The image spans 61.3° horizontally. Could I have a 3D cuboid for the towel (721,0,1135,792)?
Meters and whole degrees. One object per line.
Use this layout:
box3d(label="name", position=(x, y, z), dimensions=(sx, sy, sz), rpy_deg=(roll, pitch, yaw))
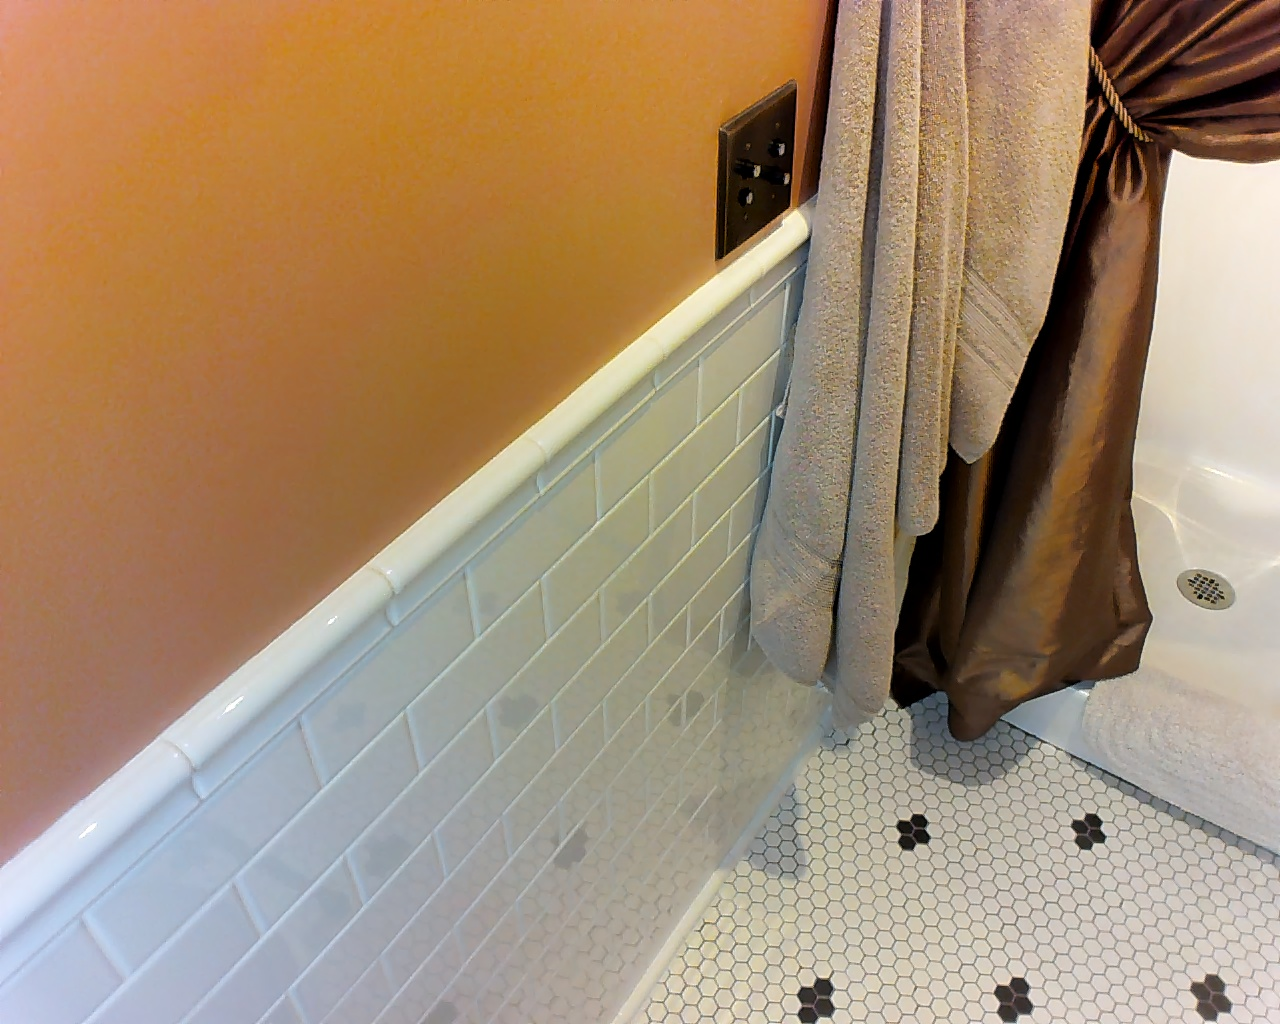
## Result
box3d(label="towel", position=(0.270, -0.150, 1.130), dimensions=(0.190, 1.040, 0.310), rpy_deg=(25, 49, 25))

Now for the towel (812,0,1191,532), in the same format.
box3d(label="towel", position=(0.390, -0.500, 1.040), dimensions=(0.210, 1.080, 0.320), rpy_deg=(25, 49, 25))
